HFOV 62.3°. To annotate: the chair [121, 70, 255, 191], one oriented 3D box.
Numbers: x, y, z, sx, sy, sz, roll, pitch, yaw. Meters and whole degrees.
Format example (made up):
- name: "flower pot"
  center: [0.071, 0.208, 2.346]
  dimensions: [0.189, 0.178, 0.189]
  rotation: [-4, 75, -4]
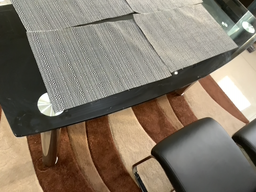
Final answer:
- name: "chair"
  center: [0.430, 0.420, 0.990]
  dimensions: [0.420, 1.010, 0.660]
  rotation: [-18, 69, -28]
